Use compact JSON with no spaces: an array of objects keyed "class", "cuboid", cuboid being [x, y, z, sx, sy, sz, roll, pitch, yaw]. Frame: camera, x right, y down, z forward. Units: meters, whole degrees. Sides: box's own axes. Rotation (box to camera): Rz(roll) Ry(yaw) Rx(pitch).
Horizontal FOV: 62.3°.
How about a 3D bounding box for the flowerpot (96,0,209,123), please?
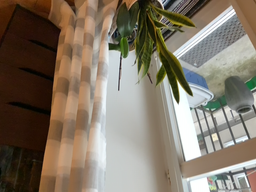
[{"class":"flowerpot","cuboid":[0.080,-0.260,1.070,0.400,0.700,0.300,-4,147,2]}]
